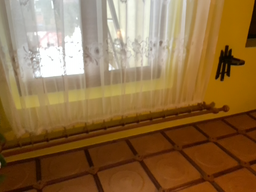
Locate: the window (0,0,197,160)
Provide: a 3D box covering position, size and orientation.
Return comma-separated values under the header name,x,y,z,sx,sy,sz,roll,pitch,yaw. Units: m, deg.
name,x,y,z,sx,sy,sz,roll,pitch,yaw
window,-0.200,-0.330,1.290,1.380,1.250,0.150,-10,-154,-24
